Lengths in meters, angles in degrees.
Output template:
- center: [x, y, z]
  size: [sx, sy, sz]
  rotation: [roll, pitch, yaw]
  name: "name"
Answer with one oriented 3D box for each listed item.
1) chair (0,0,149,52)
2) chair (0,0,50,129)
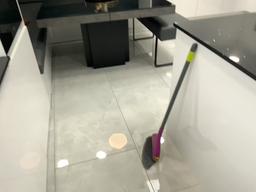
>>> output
- center: [-0.810, -1.500, 3.370]
  size: [2.190, 1.100, 0.610]
  rotation: [-11, 37, -12]
  name: "chair"
- center: [-1.260, -0.670, 2.270]
  size: [0.560, 1.080, 1.780]
  rotation: [-11, 37, -12]
  name: "chair"
